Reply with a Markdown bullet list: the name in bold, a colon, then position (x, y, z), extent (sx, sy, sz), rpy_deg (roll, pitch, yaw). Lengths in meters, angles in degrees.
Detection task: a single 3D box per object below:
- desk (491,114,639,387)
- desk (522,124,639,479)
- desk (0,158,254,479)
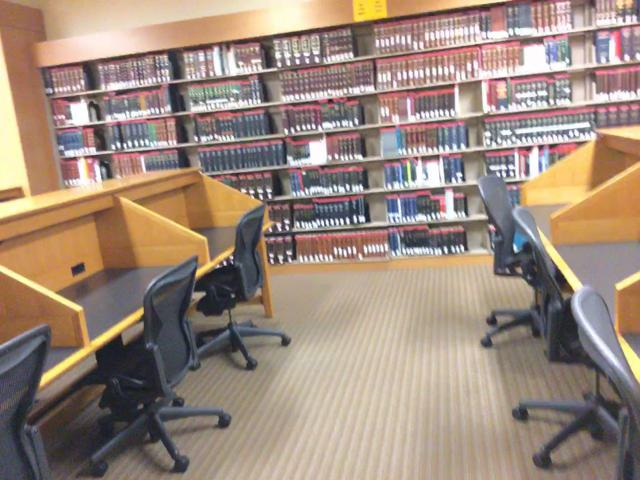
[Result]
- **desk**: position (1.520, -0.050, 3.310), extent (0.820, 1.230, 1.360), rpy_deg (-4, 12, 10)
- **desk**: position (1.320, 0.200, 2.240), extent (0.750, 1.210, 1.380), rpy_deg (-4, 12, 10)
- **desk**: position (-1.010, 0.370, 2.770), extent (0.890, 1.330, 1.400), rpy_deg (-4, 12, 10)
